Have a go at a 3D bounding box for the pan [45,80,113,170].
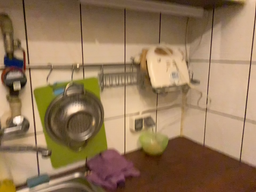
[{"bbox_3d":[-0.190,0.100,0.860,0.230,0.300,0.110,-9,15,-37],"label":"pan"}]
